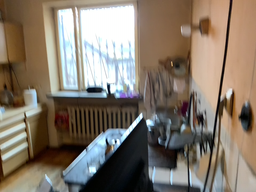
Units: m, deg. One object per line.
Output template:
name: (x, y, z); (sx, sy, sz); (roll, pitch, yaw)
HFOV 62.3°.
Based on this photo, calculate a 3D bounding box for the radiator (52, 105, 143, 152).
radiator: (-0.510, 0.530, 3.560); (1.500, 0.690, 0.190); (1, 11, 10)

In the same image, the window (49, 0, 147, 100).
window: (-0.480, -0.740, 3.640); (1.590, 1.600, 0.230); (1, 11, 9)

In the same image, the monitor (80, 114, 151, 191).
monitor: (0.000, 0.400, 0.940); (0.060, 0.460, 0.710); (4, 13, 16)
